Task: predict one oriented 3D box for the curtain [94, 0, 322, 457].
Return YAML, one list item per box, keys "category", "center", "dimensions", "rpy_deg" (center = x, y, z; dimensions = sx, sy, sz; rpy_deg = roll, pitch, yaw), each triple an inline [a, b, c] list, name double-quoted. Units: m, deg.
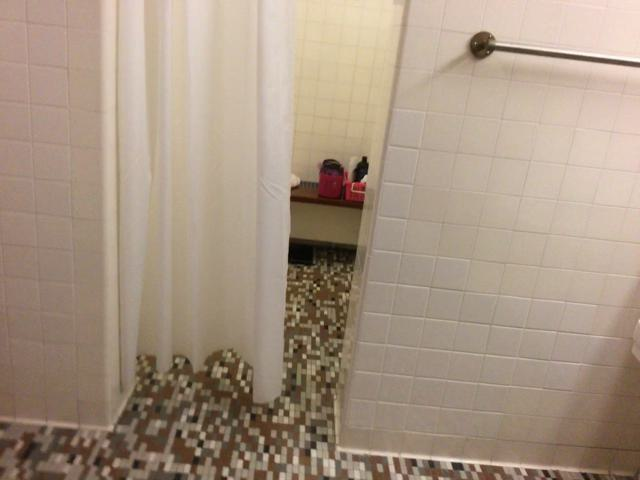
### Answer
- category: "curtain"
  center: [-0.330, -0.330, 1.820]
  dimensions: [0.580, 2.010, 0.460]
  rpy_deg: [6, 18, -2]
